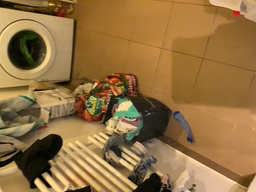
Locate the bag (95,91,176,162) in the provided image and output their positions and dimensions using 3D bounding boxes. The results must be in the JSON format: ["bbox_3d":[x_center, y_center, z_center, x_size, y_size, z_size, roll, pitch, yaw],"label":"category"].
[{"bbox_3d":[0.060,0.170,1.410,0.260,0.430,0.290,31,115,32],"label":"bag"}]

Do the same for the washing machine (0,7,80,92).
[{"bbox_3d":[-1.010,-0.450,1.920,0.630,0.860,0.610,23,111,35],"label":"washing machine"}]
